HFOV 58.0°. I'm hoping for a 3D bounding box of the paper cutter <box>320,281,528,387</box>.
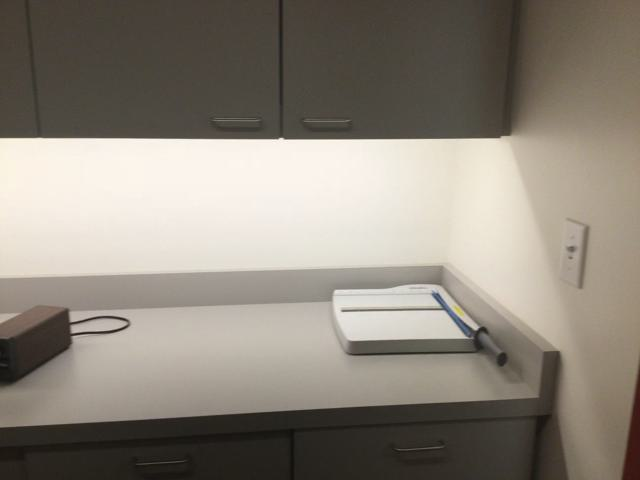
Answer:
[{"bbox_3d":[0.220,0.210,1.440,0.360,0.070,0.500,-2,12,-9],"label":"paper cutter"}]
